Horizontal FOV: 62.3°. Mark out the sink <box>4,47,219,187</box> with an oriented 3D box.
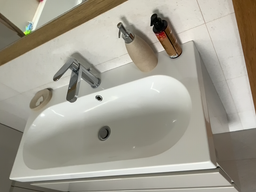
[{"bbox_3d":[-0.120,0.120,0.820,0.810,0.100,0.400,-14,55,27],"label":"sink"}]
